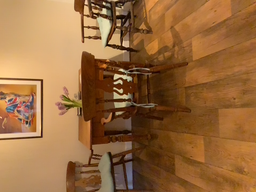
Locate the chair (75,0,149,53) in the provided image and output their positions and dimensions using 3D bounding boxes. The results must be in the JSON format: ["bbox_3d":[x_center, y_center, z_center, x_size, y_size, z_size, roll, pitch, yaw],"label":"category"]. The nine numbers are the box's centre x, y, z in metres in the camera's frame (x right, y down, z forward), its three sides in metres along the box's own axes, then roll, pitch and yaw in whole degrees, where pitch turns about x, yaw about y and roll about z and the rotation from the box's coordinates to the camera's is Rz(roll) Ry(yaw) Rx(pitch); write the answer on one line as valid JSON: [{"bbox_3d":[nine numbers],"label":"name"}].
[{"bbox_3d":[-0.240,-1.000,2.690,0.520,0.770,0.660,135,132,-63],"label":"chair"}]

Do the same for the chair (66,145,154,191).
[{"bbox_3d":[-0.260,0.960,2.580,0.600,0.890,0.490,120,144,-54],"label":"chair"}]
